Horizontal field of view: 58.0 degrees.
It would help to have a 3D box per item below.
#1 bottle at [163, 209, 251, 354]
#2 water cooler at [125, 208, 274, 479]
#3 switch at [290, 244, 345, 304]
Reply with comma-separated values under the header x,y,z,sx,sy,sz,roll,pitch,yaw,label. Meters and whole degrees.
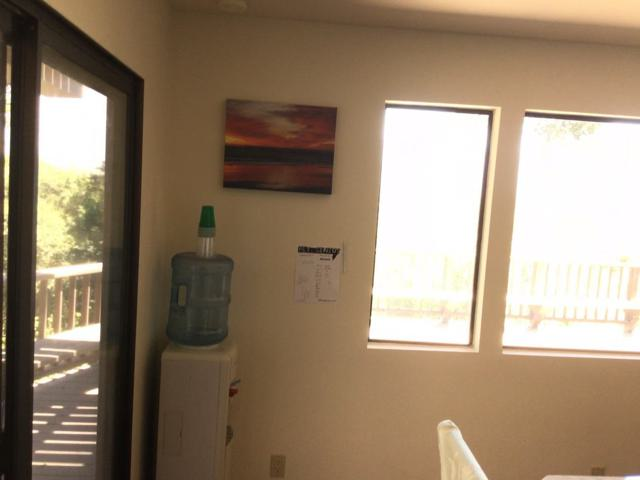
x,y,z,sx,sy,sz,roll,pitch,yaw,label
-0.480,0.160,2.540,0.280,0.580,0.380,-2,3,1,bottle
-0.510,0.620,2.610,0.520,1.490,0.460,-2,1,1,water cooler
-0.010,0.160,2.750,0.250,0.270,0.070,-2,3,1,switch
